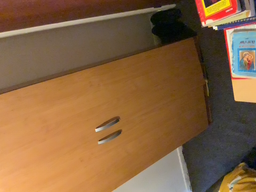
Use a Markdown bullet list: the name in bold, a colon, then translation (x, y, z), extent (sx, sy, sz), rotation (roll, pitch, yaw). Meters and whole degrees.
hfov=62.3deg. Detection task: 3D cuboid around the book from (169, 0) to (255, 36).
- **book**: translation (0.250, -0.300, 0.620), extent (0.220, 0.140, 0.190), rotation (11, 118, 56)
